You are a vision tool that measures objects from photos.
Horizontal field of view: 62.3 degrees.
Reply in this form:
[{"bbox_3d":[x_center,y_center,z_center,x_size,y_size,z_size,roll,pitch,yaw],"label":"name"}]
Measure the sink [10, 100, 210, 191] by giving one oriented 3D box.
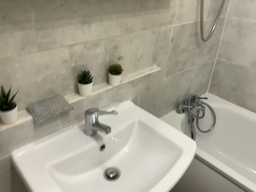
[{"bbox_3d":[-0.050,0.260,0.790,0.570,0.170,0.410,-21,39,-37],"label":"sink"}]
